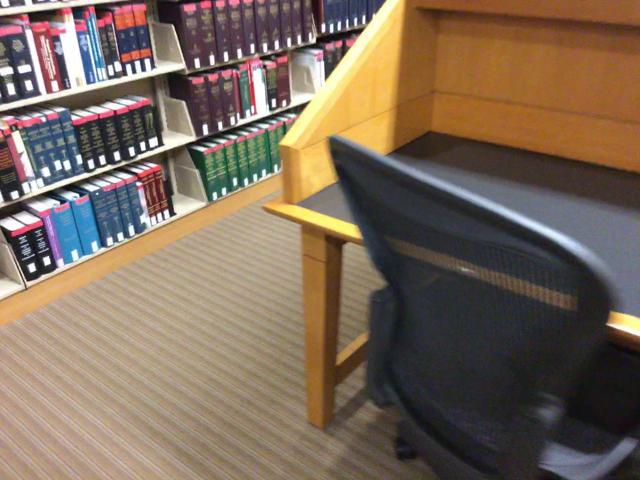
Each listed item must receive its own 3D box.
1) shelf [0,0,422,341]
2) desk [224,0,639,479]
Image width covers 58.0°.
[{"bbox_3d":[-0.490,-0.750,2.830,0.460,1.250,3.080,18,33,35],"label":"shelf"},{"bbox_3d":[0.650,0.060,1.250,1.490,1.240,0.780,18,33,35],"label":"desk"}]
